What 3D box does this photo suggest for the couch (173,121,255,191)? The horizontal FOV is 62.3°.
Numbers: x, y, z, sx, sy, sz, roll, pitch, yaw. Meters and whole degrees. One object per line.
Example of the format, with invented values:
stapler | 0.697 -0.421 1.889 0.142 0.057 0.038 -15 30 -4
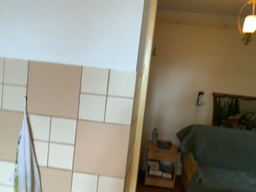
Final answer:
couch | 1.650 0.990 2.650 1.920 0.920 1.040 7 4 5
